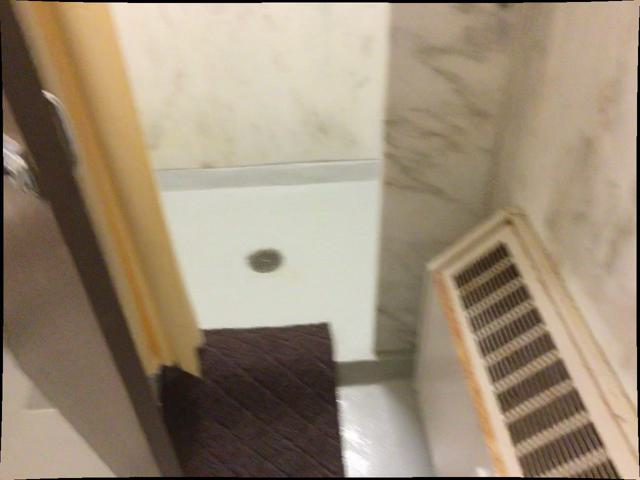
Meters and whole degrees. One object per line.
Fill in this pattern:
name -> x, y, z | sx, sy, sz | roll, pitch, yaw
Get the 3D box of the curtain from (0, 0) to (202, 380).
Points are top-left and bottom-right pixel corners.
curtain -> -0.430, -0.160, 1.110 | 0.180, 1.261, 0.100 | -4, 40, -2

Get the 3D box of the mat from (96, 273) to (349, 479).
mat -> -0.230, 0.360, 1.510 | 0.550, 0.120, 0.610 | -4, 40, -2

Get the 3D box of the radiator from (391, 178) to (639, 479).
radiator -> 0.290, 0.330, 0.960 | 0.200, 0.540, 0.720 | -4, 40, -2
